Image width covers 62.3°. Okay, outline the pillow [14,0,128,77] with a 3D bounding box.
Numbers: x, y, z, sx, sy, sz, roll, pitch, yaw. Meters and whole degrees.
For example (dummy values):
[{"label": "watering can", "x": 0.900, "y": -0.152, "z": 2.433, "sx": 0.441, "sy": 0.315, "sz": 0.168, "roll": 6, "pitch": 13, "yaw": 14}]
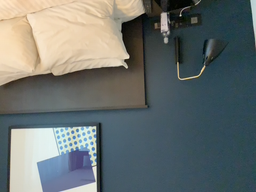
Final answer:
[{"label": "pillow", "x": -0.370, "y": -0.420, "z": 1.450, "sx": 0.620, "sy": 0.440, "sz": 0.220, "roll": -8, "pitch": -159, "yaw": 18}]
